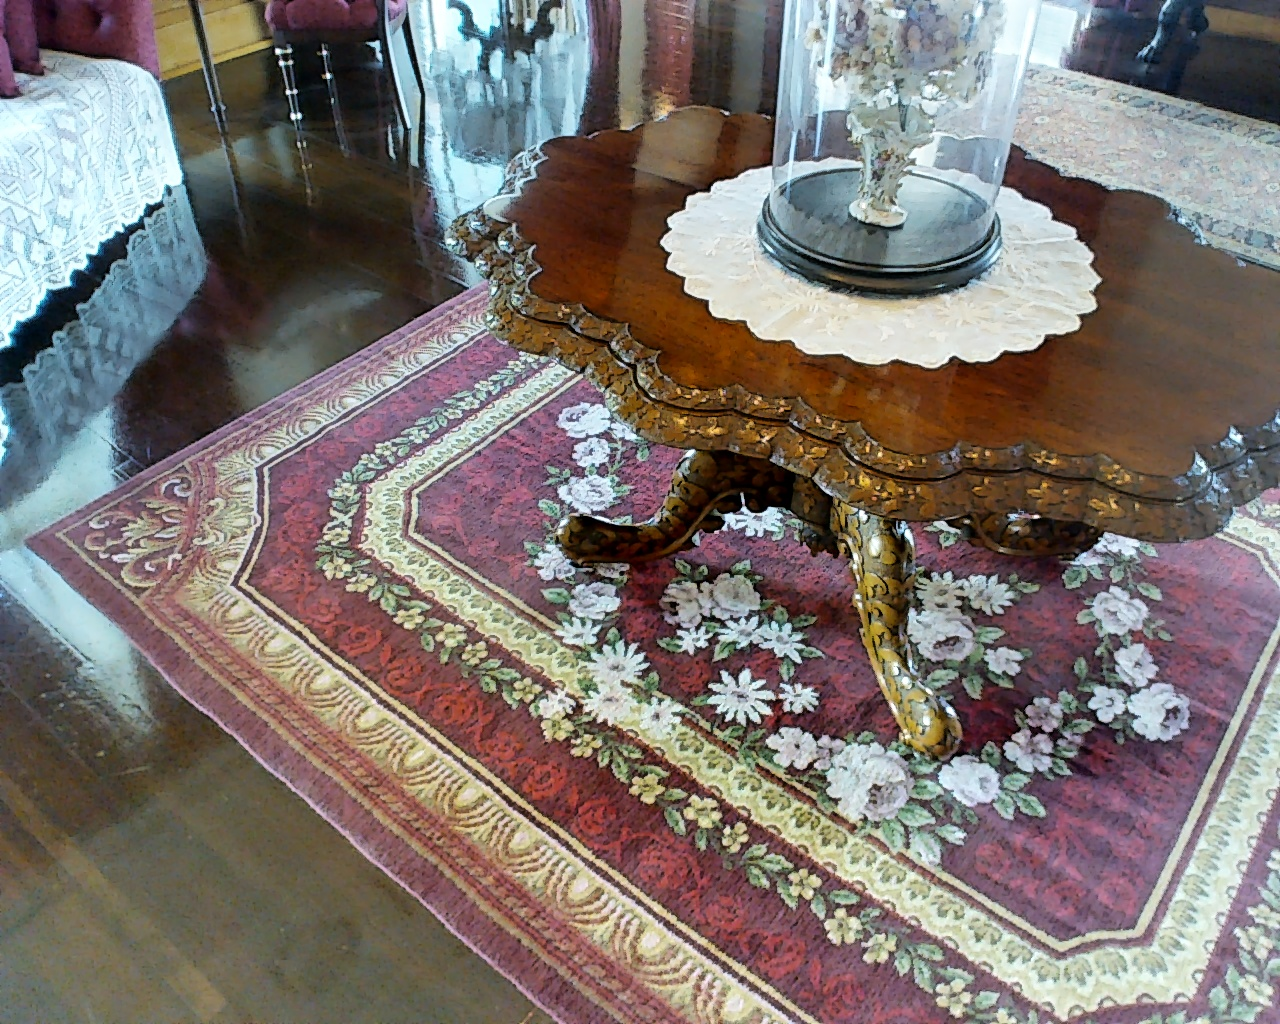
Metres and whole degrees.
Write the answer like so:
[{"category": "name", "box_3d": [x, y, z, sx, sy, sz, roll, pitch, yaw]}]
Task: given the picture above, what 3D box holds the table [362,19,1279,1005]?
[{"category": "table", "box_3d": [0.410, -0.230, 2.030, 1.340, 0.700, 1.560, -19, 46, -20]}]
